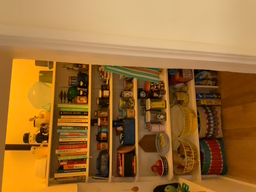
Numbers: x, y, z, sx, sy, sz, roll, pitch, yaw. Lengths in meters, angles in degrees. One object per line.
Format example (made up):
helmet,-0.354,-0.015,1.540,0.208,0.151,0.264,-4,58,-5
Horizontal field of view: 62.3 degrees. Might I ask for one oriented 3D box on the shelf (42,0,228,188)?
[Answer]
shelf,0.110,-0.140,2.290,0.290,1.800,1.950,143,128,-73
